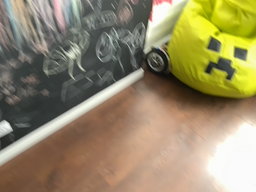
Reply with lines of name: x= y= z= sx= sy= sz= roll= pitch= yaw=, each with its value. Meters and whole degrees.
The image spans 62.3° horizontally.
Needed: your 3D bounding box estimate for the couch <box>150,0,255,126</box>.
couch: x=0.890 y=-0.530 z=1.950 sx=1.030 sy=0.800 sz=1.170 roll=15 pitch=49 yaw=6
